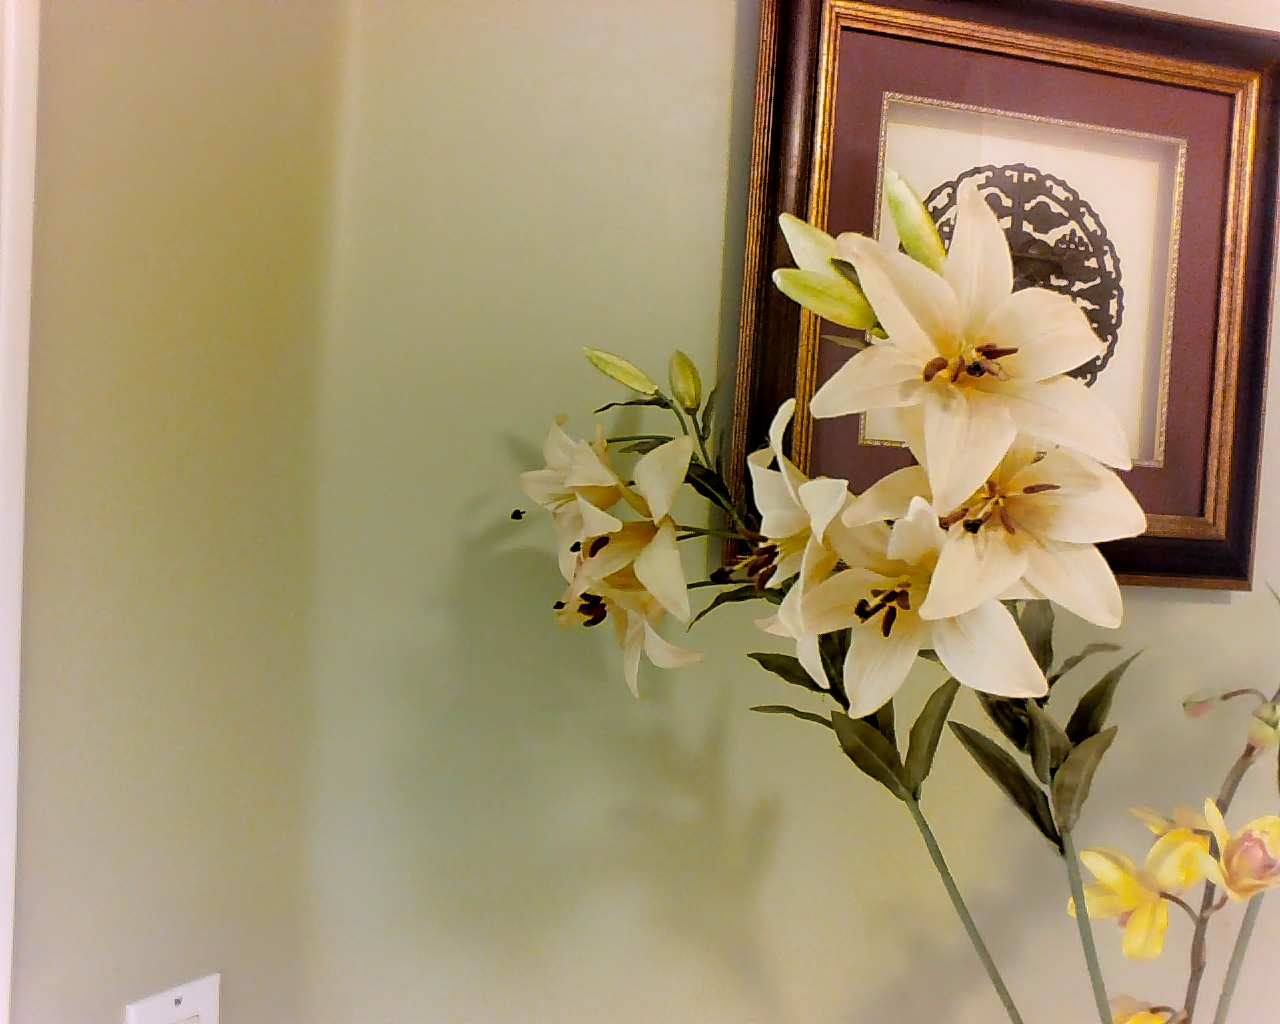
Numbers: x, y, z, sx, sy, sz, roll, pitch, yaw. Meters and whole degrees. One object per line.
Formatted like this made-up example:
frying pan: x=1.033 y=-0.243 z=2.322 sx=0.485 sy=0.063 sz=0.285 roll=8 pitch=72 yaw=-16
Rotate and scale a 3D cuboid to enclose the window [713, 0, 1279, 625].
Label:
window: x=0.350 y=-0.190 z=0.970 sx=0.570 sy=0.570 sz=0.040 roll=0 pitch=2 yaw=-12
